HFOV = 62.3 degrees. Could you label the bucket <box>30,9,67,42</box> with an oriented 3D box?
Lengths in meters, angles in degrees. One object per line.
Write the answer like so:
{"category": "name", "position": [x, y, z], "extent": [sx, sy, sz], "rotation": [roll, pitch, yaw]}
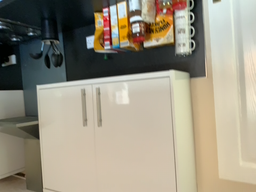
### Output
{"category": "bucket", "position": [-0.550, -0.480, 1.470], "extent": [0.140, 0.160, 0.170], "rotation": [-6, -178, 30]}
